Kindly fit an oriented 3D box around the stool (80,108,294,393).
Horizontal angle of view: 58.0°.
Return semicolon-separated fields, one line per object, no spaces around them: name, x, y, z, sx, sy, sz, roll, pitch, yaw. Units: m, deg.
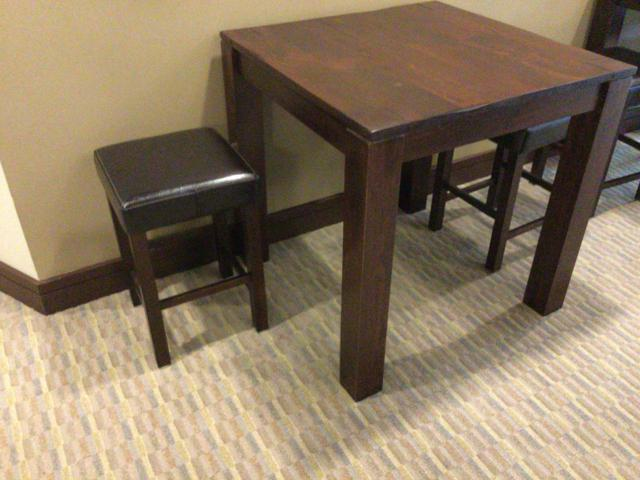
stool;-0.450;0.010;1.980;0.460;0.680;0.570;-19;35;-16

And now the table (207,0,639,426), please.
table;0.280;-0.210;2.010;0.930;1.000;0.960;-19;35;-16
